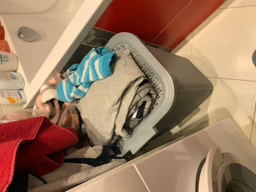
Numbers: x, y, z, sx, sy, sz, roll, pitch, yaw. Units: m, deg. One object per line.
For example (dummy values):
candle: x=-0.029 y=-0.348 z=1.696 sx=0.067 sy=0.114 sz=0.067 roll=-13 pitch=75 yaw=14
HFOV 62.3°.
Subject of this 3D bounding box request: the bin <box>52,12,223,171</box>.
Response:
bin: x=0.040 y=0.000 z=0.900 sx=0.480 sy=0.440 sz=0.320 roll=-43 pitch=68 yaw=31
